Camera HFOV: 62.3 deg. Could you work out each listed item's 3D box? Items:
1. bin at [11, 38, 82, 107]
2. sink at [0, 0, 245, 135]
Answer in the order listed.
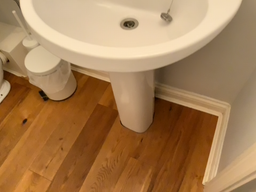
[{"bbox_3d":[-0.450,-0.130,1.230,0.210,0.290,0.210,22,63,17],"label":"bin"},{"bbox_3d":[-0.030,-0.230,0.610,0.610,0.200,0.440,20,62,16],"label":"sink"}]
